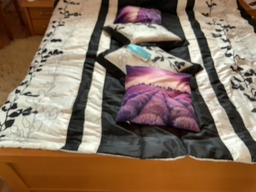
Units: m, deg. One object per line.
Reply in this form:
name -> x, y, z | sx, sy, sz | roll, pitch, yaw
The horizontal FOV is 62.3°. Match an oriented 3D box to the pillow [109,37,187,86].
pillow -> 0.120, -0.230, 1.380 | 0.450, 0.150, 0.290 | 3, 45, 2

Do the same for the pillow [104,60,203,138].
pillow -> 0.110, 0.000, 1.090 | 0.420, 0.140, 0.410 | 1, 45, 0
